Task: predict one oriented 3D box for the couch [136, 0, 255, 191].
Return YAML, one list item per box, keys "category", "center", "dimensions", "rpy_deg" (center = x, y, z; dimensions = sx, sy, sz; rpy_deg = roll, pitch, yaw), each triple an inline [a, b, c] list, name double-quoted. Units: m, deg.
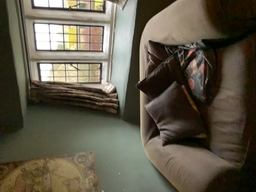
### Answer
- category: "couch"
  center: [0.600, -0.030, 1.760]
  dimensions: [1.130, 0.720, 1.350]
  rpy_deg: [-157, 65, -70]
